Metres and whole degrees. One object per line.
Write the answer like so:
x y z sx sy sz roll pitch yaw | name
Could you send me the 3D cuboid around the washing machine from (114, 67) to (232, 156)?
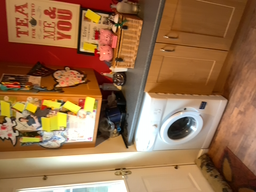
0.420 0.140 2.340 0.710 0.920 0.640 -121 37 -57 | washing machine
